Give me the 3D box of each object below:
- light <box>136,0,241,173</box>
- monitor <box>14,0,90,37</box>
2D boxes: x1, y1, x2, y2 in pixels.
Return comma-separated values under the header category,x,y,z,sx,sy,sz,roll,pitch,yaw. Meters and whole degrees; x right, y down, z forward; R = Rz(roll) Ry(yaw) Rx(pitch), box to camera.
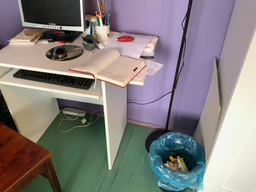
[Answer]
category,x,y,z,sx,sy,sz,roll,pitch,yaw
light,0.270,-0.310,0.980,0.330,1.720,0.310,11,39,13
monitor,-0.420,-0.500,1.130,0.390,0.360,0.030,3,34,11
